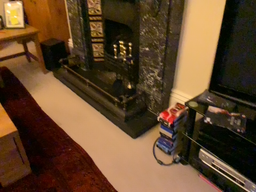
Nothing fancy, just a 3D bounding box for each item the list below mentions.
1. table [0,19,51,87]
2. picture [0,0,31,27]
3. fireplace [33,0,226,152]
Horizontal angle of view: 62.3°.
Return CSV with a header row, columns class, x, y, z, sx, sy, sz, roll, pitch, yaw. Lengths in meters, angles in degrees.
class,x,y,z,sx,sy,sz,roll,pitch,yaw
table,-1.410,-0.550,2.550,0.620,0.540,0.620,-26,41,-34
picture,-1.300,-0.960,2.440,0.240,0.270,0.130,-15,17,-3
fireplace,-0.180,-0.600,1.960,0.640,1.270,1.770,-25,40,-33
